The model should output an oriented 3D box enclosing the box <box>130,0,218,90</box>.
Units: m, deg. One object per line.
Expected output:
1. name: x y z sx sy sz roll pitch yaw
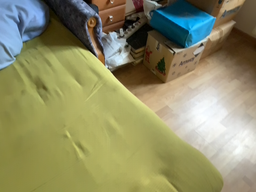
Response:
1. box: 0.340 -0.440 1.720 0.440 0.510 0.410 36 54 23
